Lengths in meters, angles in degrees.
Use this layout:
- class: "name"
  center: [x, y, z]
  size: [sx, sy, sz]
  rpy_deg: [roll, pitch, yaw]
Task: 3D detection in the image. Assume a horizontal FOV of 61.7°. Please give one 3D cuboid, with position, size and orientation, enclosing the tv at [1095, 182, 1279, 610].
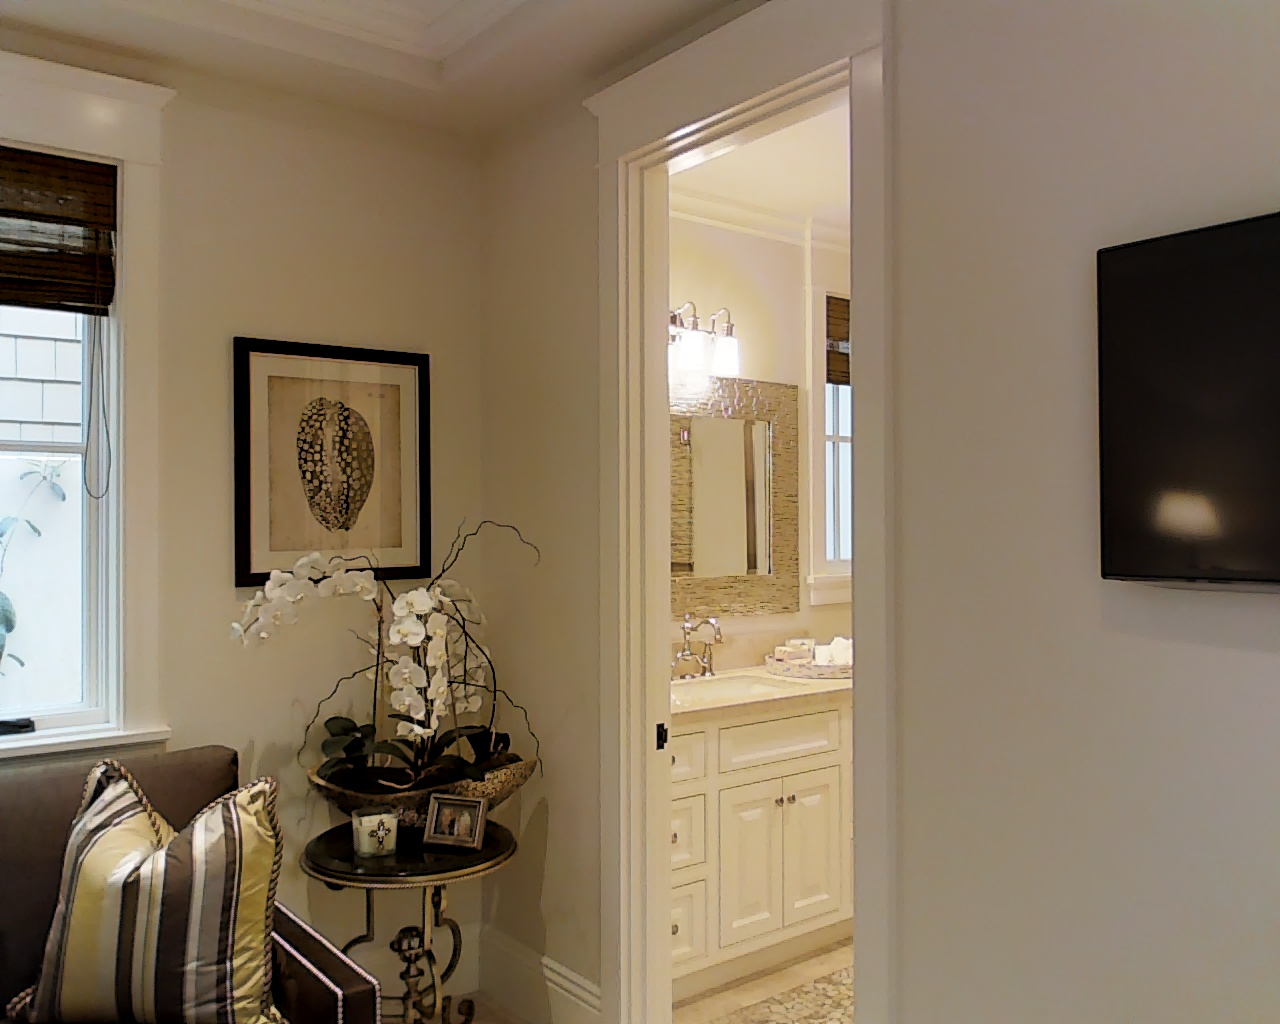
- class: "tv"
  center: [1.080, -0.170, 1.410]
  size: [0.070, 0.620, 0.970]
  rpy_deg: [0, -1, -38]

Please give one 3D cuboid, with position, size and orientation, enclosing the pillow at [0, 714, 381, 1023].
- class: "pillow"
  center: [-0.960, 0.800, 2.220]
  size: [0.590, 0.650, 0.440]
  rpy_deg: [8, -8, 9]
